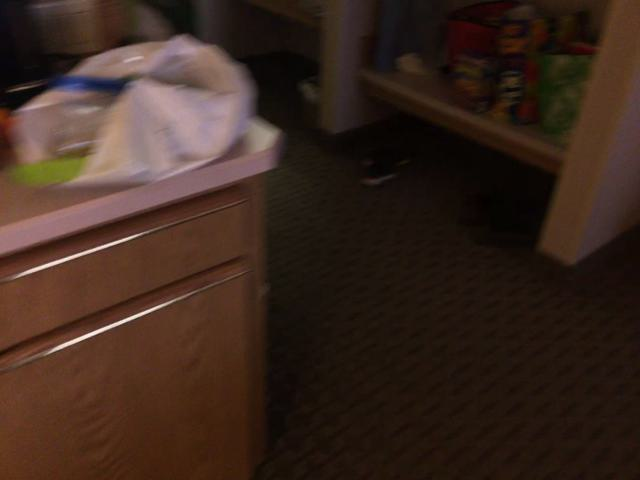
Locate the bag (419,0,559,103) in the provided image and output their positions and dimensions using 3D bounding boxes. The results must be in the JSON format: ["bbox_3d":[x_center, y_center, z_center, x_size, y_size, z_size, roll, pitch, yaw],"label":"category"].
[{"bbox_3d":[0.690,-0.820,2.410,0.400,0.310,0.360,-25,40,-29],"label":"bag"}]

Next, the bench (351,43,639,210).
[{"bbox_3d":[0.620,-0.520,2.360,0.270,0.280,1.200,-25,40,-29],"label":"bench"}]

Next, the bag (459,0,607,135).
[{"bbox_3d":[0.780,-0.670,2.160,0.370,0.380,0.310,-25,40,-29],"label":"bag"}]

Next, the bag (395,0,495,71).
[{"bbox_3d":[0.550,-0.990,2.540,0.370,0.360,0.230,-25,40,-29],"label":"bag"}]

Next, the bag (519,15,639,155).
[{"bbox_3d":[0.960,-0.550,2.010,0.350,0.330,0.320,-25,40,-29],"label":"bag"}]

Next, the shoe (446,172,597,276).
[{"bbox_3d":[0.770,-0.080,2.240,0.370,0.130,0.400,-25,40,-29],"label":"shoe"}]

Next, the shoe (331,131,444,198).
[{"bbox_3d":[0.310,-0.360,2.670,0.400,0.080,0.330,-25,40,-29],"label":"shoe"}]
